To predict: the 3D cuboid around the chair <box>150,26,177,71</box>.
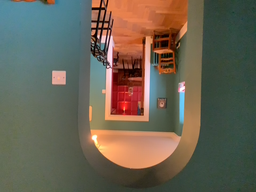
[{"bbox_3d":[0.810,-1.040,4.800,0.420,0.880,0.490,2,-179,35],"label":"chair"}]
